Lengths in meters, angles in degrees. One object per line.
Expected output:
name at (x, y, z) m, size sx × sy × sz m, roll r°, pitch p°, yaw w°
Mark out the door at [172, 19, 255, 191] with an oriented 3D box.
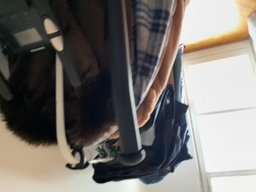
door at (1.360, 0.210, 2.820) m, size 1.210 × 2.370 × 0.160 m, roll -11°, pitch 163°, yaw 21°
